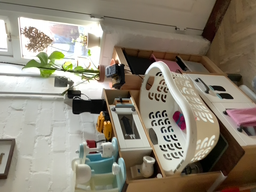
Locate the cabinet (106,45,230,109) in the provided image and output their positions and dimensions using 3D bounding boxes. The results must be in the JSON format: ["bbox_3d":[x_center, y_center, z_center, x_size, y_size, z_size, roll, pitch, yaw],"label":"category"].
[{"bbox_3d":[0.310,-0.150,1.800,0.420,0.900,0.300,-110,29,-48],"label":"cabinet"}]

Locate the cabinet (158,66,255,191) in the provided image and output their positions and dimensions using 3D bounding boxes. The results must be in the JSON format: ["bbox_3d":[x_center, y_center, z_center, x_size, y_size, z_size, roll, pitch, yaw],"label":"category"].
[{"bbox_3d":[0.630,0.180,1.410,0.720,0.550,0.390,-110,29,-48],"label":"cabinet"}]
